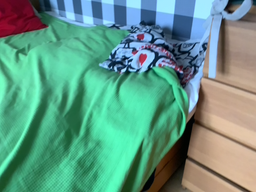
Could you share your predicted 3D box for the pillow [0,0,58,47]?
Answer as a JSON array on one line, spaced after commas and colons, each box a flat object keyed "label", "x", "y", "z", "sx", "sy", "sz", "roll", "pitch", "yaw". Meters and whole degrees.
[{"label": "pillow", "x": -0.960, "y": -0.710, "z": 1.780, "sx": 0.140, "sy": 0.380, "sz": 0.600, "roll": -19, "pitch": 20, "yaw": 50}]
